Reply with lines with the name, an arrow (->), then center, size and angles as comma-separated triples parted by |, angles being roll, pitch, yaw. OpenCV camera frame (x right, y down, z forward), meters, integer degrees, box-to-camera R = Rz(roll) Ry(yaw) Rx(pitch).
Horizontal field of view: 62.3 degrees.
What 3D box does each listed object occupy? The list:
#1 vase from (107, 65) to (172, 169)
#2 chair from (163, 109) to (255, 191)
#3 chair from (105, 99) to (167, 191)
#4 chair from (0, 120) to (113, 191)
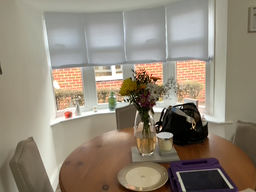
vase -> 0.080, 0.100, 1.310 | 0.260, 0.550, 0.270 | 8, 17, 44
chair -> 0.600, 0.610, 1.470 | 0.580, 0.900, 0.450 | -5, 12, -5
chair -> 0.100, 0.540, 1.990 | 0.450, 0.900, 0.590 | -3, 12, 5
chair -> -0.430, 0.700, 1.510 | 0.630, 0.900, 0.470 | -5, 12, -5
